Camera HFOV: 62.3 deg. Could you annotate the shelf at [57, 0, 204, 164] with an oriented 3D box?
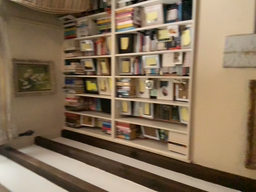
[{"bbox_3d":[-0.130,-0.630,2.420,1.850,2.310,0.270,6,-172,37],"label":"shelf"}]
